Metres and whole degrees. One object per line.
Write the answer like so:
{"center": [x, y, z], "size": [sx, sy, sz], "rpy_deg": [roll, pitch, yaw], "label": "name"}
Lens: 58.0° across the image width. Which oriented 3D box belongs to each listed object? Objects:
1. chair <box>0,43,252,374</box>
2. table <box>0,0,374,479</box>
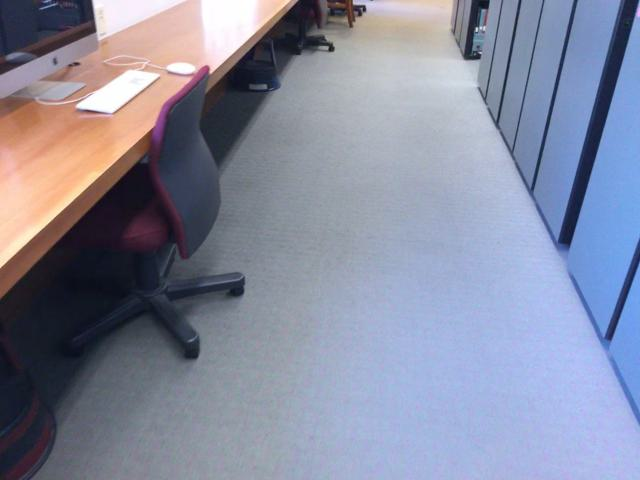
{"center": [-0.600, -0.130, 1.900], "size": [0.620, 0.850, 0.640], "rpy_deg": [5, 29, 4], "label": "chair"}
{"center": [-0.420, -1.060, 3.090], "size": [1.260, 1.050, 11.510], "rpy_deg": [5, 29, 4], "label": "table"}
